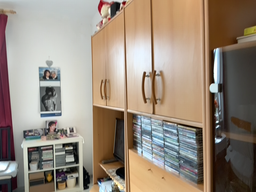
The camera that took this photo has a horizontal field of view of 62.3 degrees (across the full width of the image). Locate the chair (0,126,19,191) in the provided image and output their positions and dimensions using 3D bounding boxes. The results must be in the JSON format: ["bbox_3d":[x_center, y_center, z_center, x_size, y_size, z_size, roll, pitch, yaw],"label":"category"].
[{"bbox_3d":[-1.720,0.940,2.730,0.520,1.010,0.480,-2,2,-24],"label":"chair"}]
